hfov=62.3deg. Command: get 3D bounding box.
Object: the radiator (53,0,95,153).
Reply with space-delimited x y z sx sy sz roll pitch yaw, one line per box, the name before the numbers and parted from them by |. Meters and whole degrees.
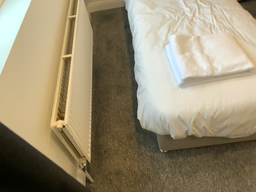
radiator | -0.360 -0.330 1.670 0.070 0.520 1.420 -9 51 3
